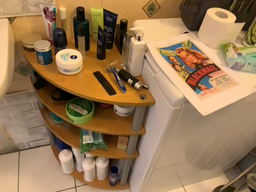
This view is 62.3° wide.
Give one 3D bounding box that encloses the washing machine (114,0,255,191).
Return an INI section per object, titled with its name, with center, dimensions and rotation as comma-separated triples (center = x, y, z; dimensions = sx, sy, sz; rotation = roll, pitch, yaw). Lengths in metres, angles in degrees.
[washing machine]
center = 0.360, 0.070, 1.060
dimensions = 0.730, 0.890, 0.460
rotation = -8, 50, -15
